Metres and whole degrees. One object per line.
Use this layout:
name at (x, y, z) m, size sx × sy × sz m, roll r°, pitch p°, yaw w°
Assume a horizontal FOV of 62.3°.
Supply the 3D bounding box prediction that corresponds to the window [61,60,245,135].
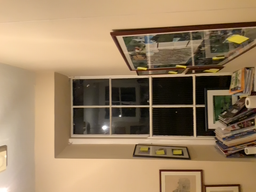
window at (0.230, 0.030, 2.290) m, size 0.050 × 1.940 × 0.750 m, roll 1°, pitch -93°, yaw -85°
